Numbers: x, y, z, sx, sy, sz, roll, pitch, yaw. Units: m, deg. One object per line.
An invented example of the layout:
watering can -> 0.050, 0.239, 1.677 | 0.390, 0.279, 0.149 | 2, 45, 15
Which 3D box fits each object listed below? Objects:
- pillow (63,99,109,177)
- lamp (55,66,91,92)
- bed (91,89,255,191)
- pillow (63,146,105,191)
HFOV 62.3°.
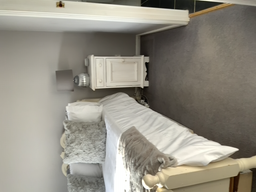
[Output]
pillow -> -0.530, 0.430, 2.530 | 0.790, 0.450, 0.640 | -149, 58, -70
lamp -> -0.680, -0.220, 2.630 | 0.290, 0.400, 0.280 | -150, 59, -70
bed -> 0.120, 0.880, 2.140 | 2.090, 0.670, 1.580 | -149, 58, -70
pillow -> -0.580, 1.110, 2.750 | 0.530, 0.460, 0.720 | -153, 62, -71
